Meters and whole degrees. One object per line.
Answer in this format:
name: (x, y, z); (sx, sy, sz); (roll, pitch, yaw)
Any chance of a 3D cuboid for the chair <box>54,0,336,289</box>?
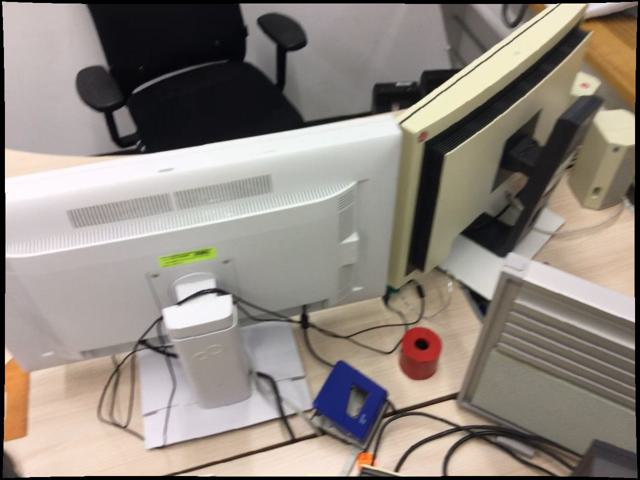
chair: (-0.340, -0.480, 1.890); (0.619, 0.990, 0.740); (-11, 52, -7)
